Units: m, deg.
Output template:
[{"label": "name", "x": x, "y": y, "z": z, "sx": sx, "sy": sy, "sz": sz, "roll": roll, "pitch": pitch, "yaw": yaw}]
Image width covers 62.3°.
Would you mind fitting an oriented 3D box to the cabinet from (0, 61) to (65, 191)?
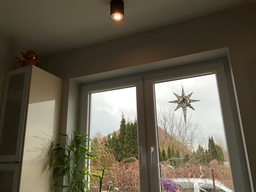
[{"label": "cabinet", "x": -0.860, "y": 0.470, "z": 1.850, "sx": 0.320, "sy": 1.460, "sz": 0.420, "roll": -8, "pitch": -18, "yaw": 21}]
